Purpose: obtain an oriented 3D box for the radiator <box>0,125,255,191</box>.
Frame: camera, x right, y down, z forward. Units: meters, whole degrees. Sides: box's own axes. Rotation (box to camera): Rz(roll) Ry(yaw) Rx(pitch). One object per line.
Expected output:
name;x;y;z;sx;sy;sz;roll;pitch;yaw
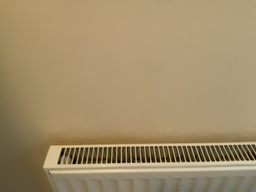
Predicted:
radiator;0.060;0.380;0.630;0.570;0.740;0.080;-1;38;-2
